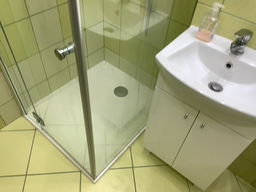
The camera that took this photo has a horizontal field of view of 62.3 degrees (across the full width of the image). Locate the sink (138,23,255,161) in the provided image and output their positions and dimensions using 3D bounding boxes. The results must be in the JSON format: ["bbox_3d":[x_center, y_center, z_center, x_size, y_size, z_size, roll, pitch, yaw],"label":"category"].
[{"bbox_3d":[0.360,-0.060,0.880,0.490,0.180,0.380,33,53,22],"label":"sink"}]
